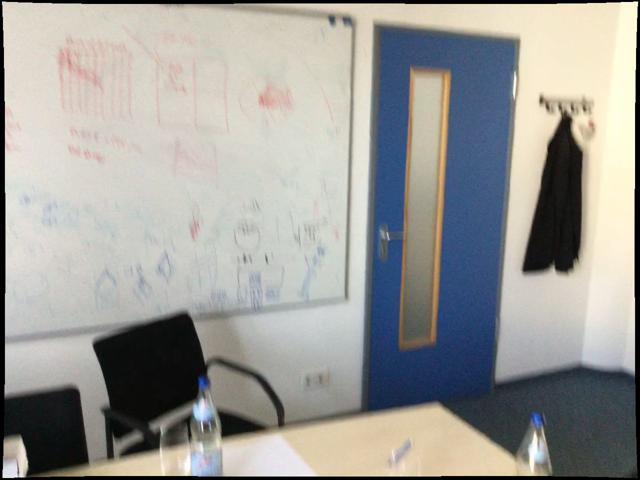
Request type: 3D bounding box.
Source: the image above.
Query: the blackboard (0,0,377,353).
[{"bbox_3d":[-0.769,-0.320,2.440,2.138,1.461,0.150,-5,14,-20],"label":"blackboard"}]

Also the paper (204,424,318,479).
[{"bbox_3d":[-0.150,0.591,1.470,0.230,0.040,0.330,-5,14,-21],"label":"paper"}]
